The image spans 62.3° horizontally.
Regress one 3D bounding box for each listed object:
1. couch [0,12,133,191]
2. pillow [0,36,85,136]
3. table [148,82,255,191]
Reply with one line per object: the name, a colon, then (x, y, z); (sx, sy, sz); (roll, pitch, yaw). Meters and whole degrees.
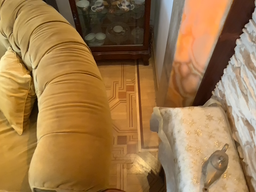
couch: (-0.400, 0.120, 1.280); (0.770, 0.770, 0.890); (5, 55, 5)
pillow: (-0.550, -0.070, 1.220); (0.480, 0.260, 0.300); (30, 61, 21)
table: (0.300, 0.530, 0.990); (0.310, 0.730, 0.930); (-1, 54, 1)
